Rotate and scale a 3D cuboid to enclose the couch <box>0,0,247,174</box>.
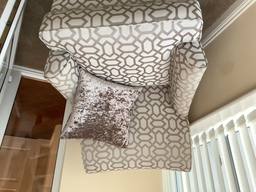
[{"bbox_3d":[0.000,-0.090,1.260,0.790,0.900,0.890,-3,151,5],"label":"couch"}]
